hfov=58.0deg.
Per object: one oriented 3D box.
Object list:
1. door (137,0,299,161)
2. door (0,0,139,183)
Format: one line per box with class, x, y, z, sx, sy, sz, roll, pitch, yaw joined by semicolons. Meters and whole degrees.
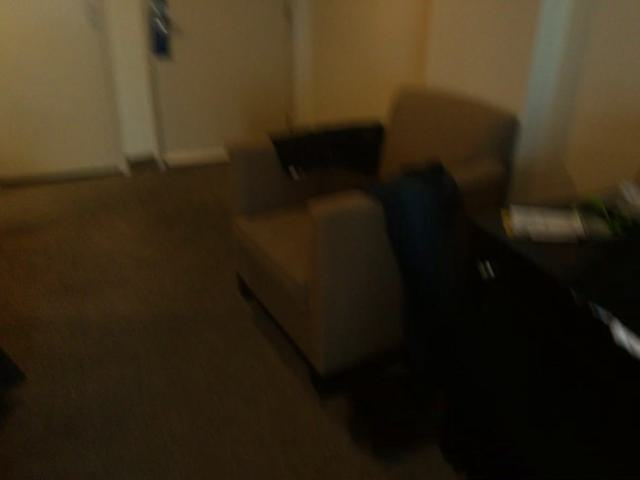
door;-0.650;-1.530;3.660;0.970;1.960;0.300;-8;27;-17
door;-1.600;-1.360;3.260;0.850;2.050;0.180;-8;27;-17
